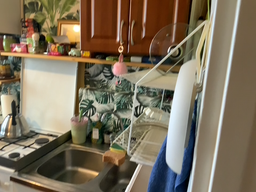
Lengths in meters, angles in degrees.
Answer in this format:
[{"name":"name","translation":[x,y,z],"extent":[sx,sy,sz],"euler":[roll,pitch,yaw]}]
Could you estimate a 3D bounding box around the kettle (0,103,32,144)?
[{"name":"kettle","translation":[-0.830,0.190,1.520],"extent":[0.190,0.220,0.180],"euler":[8,12,17]}]
